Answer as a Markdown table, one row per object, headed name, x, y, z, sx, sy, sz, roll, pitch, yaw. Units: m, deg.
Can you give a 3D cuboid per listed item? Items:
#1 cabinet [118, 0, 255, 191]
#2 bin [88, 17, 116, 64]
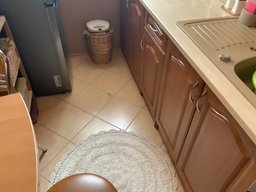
| name | x | y | z | sx | sy | sz | roll | pitch | yaw |
| --- | --- | --- | --- | --- | --- | --- | --- | --- | --- |
| cabinet | 0.420 | -0.220 | 1.590 | 0.600 | 0.910 | 1.920 | -9 | 44 | -11 |
| bin | -0.270 | -0.580 | 2.230 | 0.250 | 0.410 | 0.230 | -7 | 44 | -9 |
